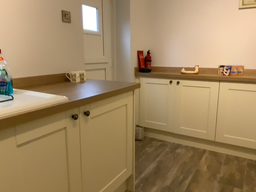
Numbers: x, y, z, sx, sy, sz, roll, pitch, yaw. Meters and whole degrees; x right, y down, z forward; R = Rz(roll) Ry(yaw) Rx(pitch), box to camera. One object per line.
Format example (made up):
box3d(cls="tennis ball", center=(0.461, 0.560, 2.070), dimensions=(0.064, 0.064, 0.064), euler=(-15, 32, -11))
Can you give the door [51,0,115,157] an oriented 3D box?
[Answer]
box3d(cls="door", center=(-0.450, -0.430, 2.440), dimensions=(0.090, 2.040, 0.890), euler=(6, 13, 30))
